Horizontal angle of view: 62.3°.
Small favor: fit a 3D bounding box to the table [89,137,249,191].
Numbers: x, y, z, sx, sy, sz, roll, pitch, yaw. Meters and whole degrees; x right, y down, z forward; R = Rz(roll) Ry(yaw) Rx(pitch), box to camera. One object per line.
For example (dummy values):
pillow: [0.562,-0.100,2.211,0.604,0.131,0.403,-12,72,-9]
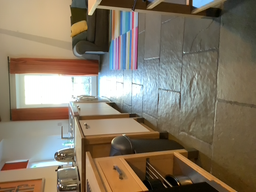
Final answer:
table: [0.220,0.750,1.470,0.600,0.880,0.690,-160,69,-70]
